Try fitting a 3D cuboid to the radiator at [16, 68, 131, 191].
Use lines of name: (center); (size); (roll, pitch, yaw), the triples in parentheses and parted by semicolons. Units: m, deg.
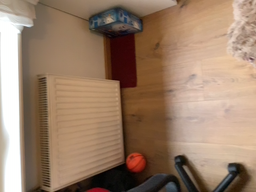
radiator: (-0.280, 0.180, 1.320); (0.150, 0.720, 0.610); (-7, 86, 37)
